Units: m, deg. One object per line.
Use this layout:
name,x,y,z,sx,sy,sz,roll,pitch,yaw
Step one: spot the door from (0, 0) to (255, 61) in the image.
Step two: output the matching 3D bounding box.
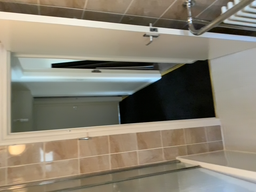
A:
door,0.060,-0.440,1.680,0.750,2.000,0.090,168,100,-69
